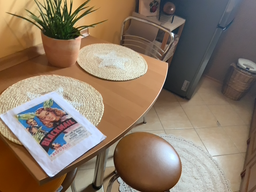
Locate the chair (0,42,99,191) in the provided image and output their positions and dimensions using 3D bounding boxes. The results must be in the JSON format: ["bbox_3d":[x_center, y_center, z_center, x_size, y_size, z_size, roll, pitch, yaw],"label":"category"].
[{"bbox_3d":[-0.450,0.300,0.890,0.370,0.870,0.430,33,43,22],"label":"chair"}]

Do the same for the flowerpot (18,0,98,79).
[{"bbox_3d":[-0.290,-0.320,0.900,0.220,0.390,0.210,29,42,18],"label":"flowerpot"}]
